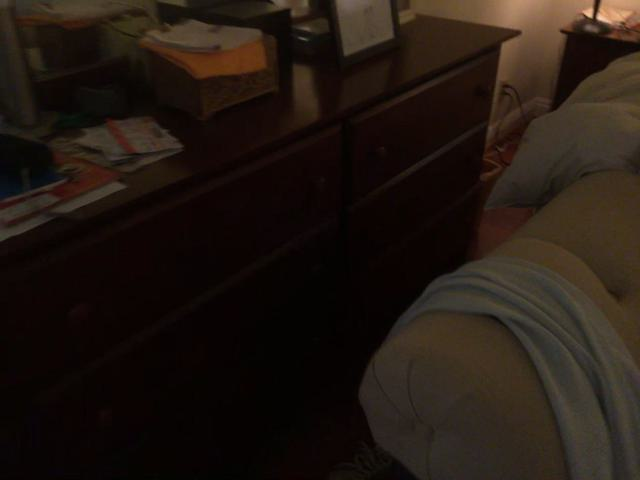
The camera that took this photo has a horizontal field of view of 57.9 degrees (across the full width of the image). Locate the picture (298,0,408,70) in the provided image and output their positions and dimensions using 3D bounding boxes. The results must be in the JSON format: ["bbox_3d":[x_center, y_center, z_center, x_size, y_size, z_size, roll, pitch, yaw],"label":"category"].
[{"bbox_3d":[0.090,-0.580,1.430,0.100,0.230,0.320,21,38,34],"label":"picture"}]
